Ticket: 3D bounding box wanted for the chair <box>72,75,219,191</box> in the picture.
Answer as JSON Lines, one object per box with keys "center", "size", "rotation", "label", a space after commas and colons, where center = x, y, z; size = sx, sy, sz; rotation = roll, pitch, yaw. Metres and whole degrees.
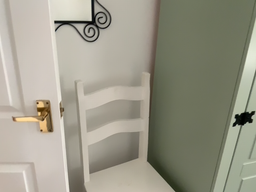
{"center": [0.010, 0.440, 1.070], "size": [0.410, 0.950, 0.510], "rotation": [-9, 25, -27], "label": "chair"}
